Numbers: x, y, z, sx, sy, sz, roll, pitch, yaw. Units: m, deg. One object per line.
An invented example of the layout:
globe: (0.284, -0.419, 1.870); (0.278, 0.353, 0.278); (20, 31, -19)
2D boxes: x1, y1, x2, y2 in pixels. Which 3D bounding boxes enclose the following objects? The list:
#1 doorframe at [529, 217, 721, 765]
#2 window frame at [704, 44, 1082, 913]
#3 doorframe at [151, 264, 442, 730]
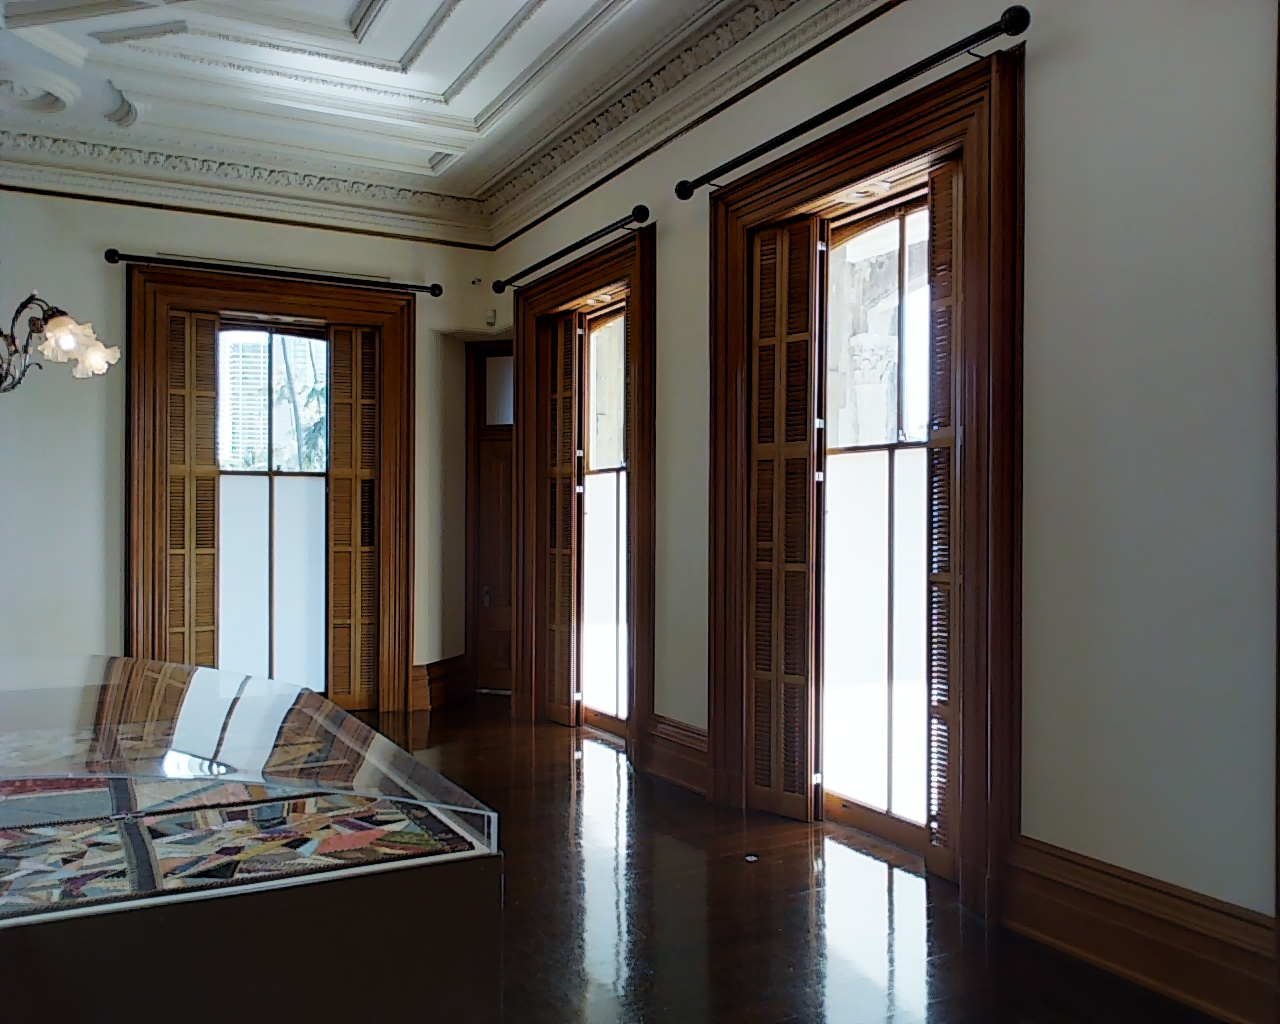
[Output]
doorframe: (-0.180, -0.130, 7.690); (0.450, 3.390, 2.130); (0, 0, -28)
window frame: (1.080, -0.130, 5.170); (0.550, 3.340, 2.050); (0, 0, -28)
doorframe: (-2.630, -0.110, 8.400); (2.150, 3.370, 0.250); (0, 0, -28)
